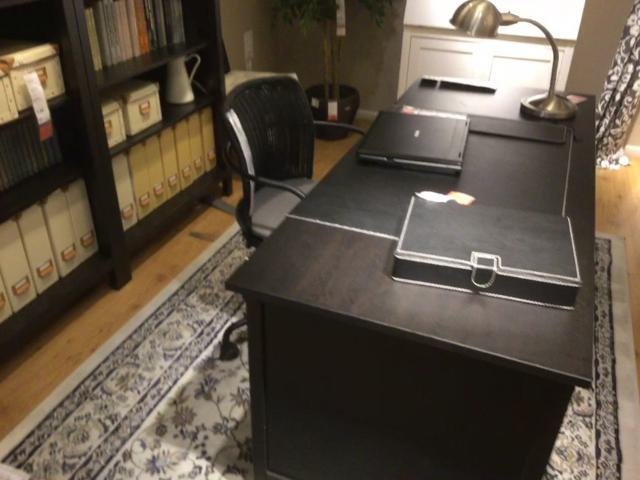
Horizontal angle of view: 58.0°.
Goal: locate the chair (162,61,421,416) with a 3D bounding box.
[{"bbox_3d":[-0.030,-0.040,1.760,0.460,0.800,0.640,12,34,20],"label":"chair"}]
